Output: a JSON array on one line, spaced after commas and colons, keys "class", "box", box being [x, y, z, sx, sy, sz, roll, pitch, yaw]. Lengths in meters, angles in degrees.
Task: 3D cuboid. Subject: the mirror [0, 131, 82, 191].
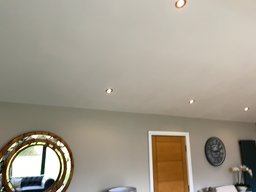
[{"class": "mirror", "box": [-1.180, 0.980, 2.810, 1.080, 0.990, 0.130, 7, -16, -27]}]
